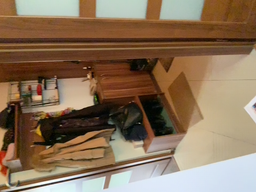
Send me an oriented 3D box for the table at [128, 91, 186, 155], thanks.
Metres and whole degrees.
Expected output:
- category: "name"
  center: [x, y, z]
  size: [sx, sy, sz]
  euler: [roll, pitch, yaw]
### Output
- category: "table"
  center: [0.330, 0.320, 2.710]
  size: [0.380, 0.430, 0.670]
  euler: [106, 151, -45]
